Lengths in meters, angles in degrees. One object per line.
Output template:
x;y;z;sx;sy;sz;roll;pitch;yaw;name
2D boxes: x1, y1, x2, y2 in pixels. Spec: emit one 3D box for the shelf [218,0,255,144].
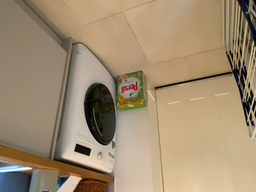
0.660;-0.220;1.120;0.190;0.740;0.810;-13;149;22;shelf
